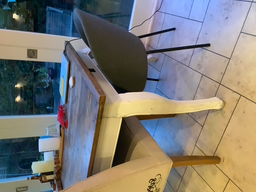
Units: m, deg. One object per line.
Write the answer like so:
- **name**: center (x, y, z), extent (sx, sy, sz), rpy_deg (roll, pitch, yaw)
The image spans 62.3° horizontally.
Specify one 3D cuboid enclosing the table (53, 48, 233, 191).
- **table**: center (-0.110, 0.640, 1.740), extent (0.870, 0.790, 1.780), rpy_deg (49, 132, 53)
